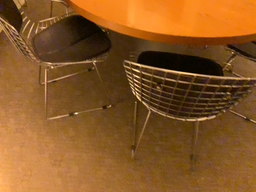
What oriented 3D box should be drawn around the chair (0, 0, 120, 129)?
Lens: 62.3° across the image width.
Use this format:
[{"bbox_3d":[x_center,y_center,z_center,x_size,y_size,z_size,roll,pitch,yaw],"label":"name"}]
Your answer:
[{"bbox_3d":[-0.390,-0.270,1.310,0.530,0.730,0.460,-21,53,-19],"label":"chair"}]
